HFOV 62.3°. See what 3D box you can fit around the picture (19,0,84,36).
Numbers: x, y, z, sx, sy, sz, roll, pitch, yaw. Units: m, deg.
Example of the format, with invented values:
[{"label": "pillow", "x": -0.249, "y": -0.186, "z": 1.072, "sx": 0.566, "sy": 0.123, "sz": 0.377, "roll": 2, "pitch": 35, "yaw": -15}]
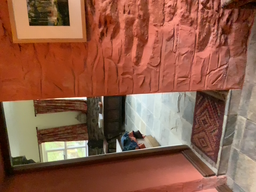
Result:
[{"label": "picture", "x": -0.440, "y": -0.520, "z": 1.240, "sx": 0.010, "sy": 0.350, "sz": 0.310, "roll": -138, "pitch": 47, "yaw": -68}]
